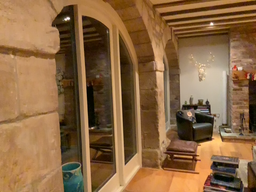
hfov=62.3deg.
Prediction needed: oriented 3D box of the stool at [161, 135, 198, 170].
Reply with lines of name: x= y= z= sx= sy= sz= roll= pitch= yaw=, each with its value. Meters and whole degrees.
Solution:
stool: x=0.930 y=0.960 z=3.740 sx=0.540 sy=0.380 sz=0.610 roll=-1 pitch=4 yaw=22
